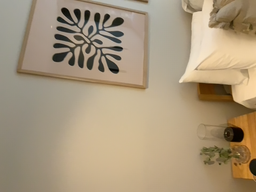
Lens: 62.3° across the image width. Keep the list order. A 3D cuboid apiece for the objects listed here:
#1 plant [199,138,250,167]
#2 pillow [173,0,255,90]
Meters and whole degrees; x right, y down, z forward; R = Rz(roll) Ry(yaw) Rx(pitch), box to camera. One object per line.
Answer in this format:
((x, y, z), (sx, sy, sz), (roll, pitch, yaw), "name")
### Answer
((0.620, 0.370, 1.380), (0.160, 0.250, 0.160), (131, 144, -68), "plant")
((0.660, -0.470, 1.400), (0.240, 0.490, 0.700), (53, -162, -66), "pillow")
